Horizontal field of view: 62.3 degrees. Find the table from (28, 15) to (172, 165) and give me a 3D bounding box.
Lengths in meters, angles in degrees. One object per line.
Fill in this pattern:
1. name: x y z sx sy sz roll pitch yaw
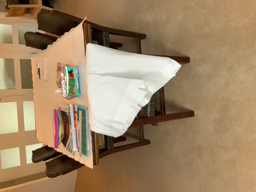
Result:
1. table: -0.410 -0.030 2.170 1.500 0.750 0.950 -4 90 53
